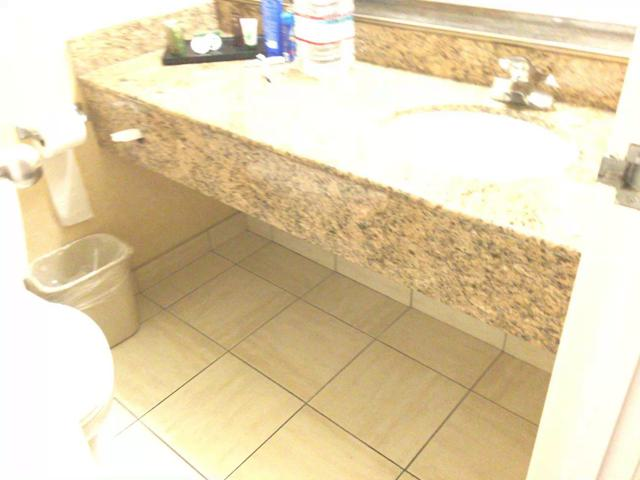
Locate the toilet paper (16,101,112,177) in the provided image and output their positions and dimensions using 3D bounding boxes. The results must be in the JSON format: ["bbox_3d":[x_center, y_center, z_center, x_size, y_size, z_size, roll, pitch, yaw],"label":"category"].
[{"bbox_3d":[-0.720,-0.290,1.640,0.120,0.140,0.190,23,38,33],"label":"toilet paper"}]

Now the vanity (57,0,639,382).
[{"bbox_3d":[0.020,-0.290,1.470,1.440,0.410,0.590,24,38,34],"label":"vanity"}]

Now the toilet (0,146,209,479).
[{"bbox_3d":[-0.750,0.250,1.360,0.800,0.690,0.490,23,38,33],"label":"toilet"}]
